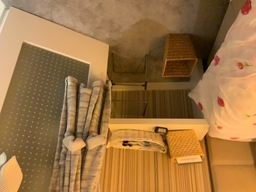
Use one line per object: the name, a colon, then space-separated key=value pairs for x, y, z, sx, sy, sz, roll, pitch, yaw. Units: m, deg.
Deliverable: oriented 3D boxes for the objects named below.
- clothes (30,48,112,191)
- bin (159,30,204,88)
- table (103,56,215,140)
clothes: x=-0.330 y=0.400 z=1.220 sx=0.350 sy=1.430 sz=0.180 roll=17 pitch=149 yaw=-28
bin: x=0.420 y=-0.290 z=1.780 sx=0.290 sy=0.250 sz=0.440 roll=-1 pitch=153 yaw=5
table: x=0.260 y=0.040 z=2.000 sx=0.860 sy=0.630 sz=0.470 roll=-1 pitch=153 yaw=6
